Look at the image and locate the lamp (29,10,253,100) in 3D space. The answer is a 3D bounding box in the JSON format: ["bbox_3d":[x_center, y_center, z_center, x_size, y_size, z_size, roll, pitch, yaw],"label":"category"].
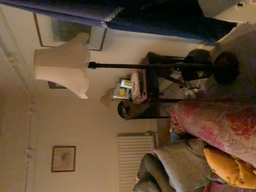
[{"bbox_3d":[0.150,-0.310,2.030,0.520,1.900,0.530,128,141,-67],"label":"lamp"}]
